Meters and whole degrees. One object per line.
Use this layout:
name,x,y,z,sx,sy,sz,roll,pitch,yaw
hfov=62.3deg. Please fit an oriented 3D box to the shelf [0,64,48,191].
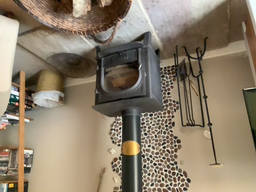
shelf,-1.490,0.500,2.390,0.840,1.540,0.450,-9,158,22

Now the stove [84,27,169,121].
stove,0.010,-0.150,1.880,0.560,0.580,0.520,-8,158,20
